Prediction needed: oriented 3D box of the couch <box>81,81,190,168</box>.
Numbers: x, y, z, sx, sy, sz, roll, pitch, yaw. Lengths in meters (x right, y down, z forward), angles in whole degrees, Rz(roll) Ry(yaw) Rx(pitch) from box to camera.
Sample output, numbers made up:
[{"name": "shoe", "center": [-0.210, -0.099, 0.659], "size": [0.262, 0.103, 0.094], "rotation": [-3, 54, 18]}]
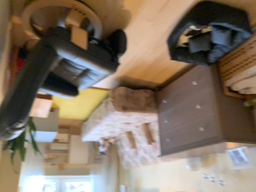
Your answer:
[{"name": "couch", "center": [-0.070, 0.670, 3.670], "size": [1.020, 0.950, 2.060], "rotation": [7, 156, -22]}]

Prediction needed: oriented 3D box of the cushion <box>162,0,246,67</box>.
[{"name": "cushion", "center": [0.630, -0.510, 1.860], "size": [0.420, 0.210, 0.540], "rotation": [6, 156, -20]}]
